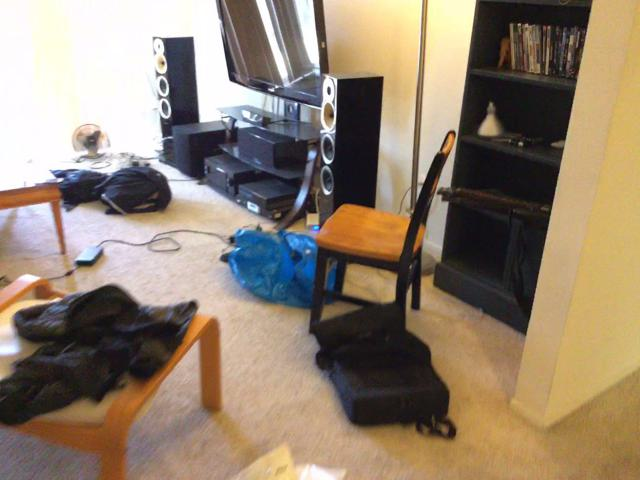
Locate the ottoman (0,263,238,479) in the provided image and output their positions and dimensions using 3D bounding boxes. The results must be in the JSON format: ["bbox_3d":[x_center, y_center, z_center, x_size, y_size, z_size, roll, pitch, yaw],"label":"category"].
[{"bbox_3d":[-0.760,0.430,1.770,0.810,0.400,0.640,9,19,13],"label":"ottoman"}]
